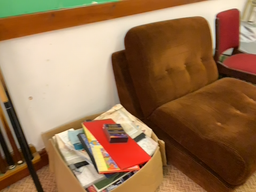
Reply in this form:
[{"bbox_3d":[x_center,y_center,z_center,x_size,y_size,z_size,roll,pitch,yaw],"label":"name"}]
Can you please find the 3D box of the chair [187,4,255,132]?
[{"bbox_3d":[0.910,-0.260,1.700,0.480,0.780,0.590,-27,40,-36],"label":"chair"}]
